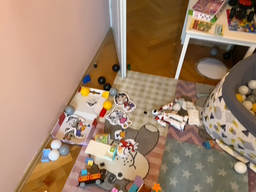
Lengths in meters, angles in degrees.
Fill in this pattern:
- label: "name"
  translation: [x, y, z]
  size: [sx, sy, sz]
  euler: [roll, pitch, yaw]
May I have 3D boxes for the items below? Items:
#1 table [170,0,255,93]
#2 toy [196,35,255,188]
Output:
- label: "table"
  translation: [0.700, -0.460, 1.830]
  size: [0.500, 0.490, 0.610]
  euler: [13, 51, 10]
- label: "toy"
  translation: [0.980, 0.120, 1.390]
  size: [0.800, 0.440, 0.880]
  euler: [18, 52, 13]
